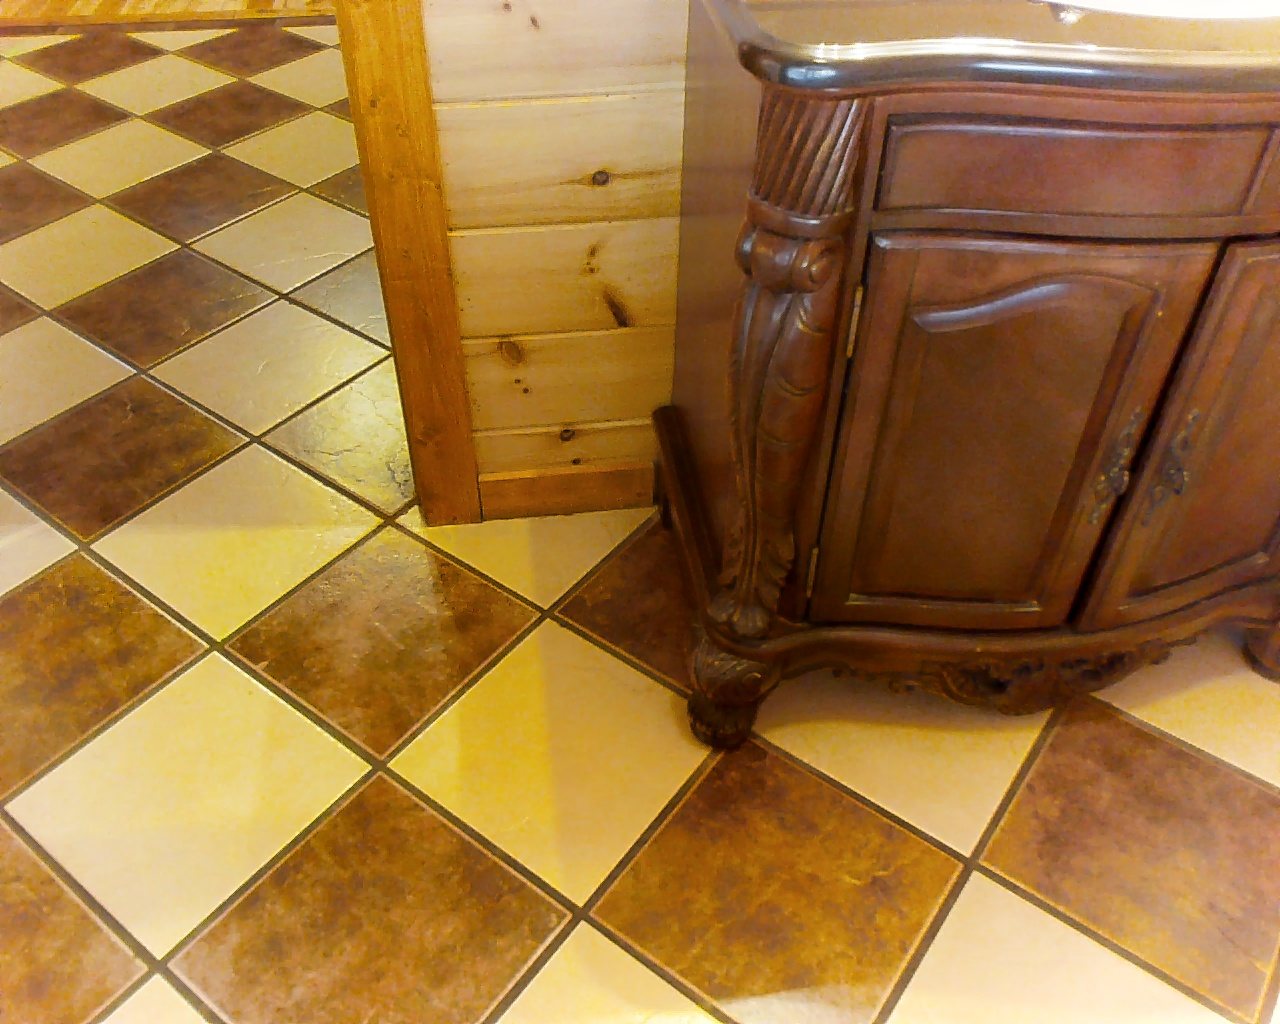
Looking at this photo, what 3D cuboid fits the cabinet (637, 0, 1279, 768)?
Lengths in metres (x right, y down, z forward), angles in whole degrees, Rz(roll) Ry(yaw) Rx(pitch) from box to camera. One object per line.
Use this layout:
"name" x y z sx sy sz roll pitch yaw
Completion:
"cabinet" 0.550 -0.240 1.340 1.040 0.940 0.560 -5 43 -6
